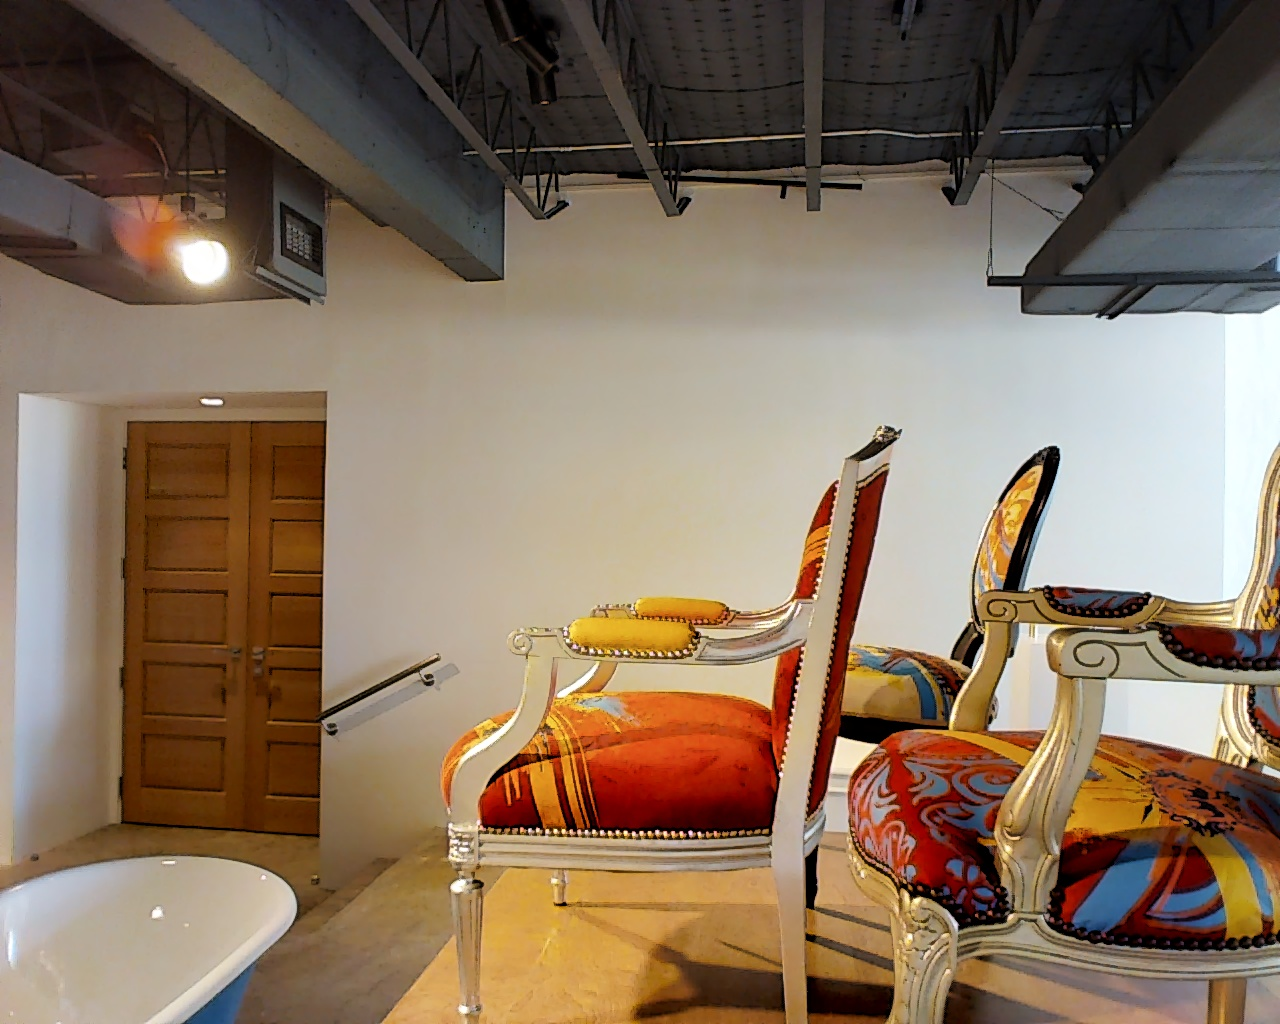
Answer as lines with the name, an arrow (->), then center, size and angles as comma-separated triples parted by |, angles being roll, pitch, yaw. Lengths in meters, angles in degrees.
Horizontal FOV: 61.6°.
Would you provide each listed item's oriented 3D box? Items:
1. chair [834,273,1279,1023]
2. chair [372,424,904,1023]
chair -> 0.560, 0.280, 1.150 | 0.680, 0.940, 0.590 | 0, 0, 11
chair -> 0.040, 0.320, 1.800 | 0.730, 0.870, 0.680 | 0, 0, 10
